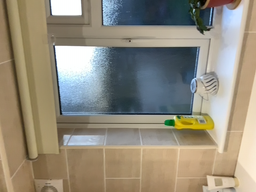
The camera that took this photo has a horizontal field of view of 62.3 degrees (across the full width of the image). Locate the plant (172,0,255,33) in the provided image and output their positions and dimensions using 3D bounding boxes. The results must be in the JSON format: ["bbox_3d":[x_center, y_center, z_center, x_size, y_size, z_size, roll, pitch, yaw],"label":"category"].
[{"bbox_3d":[0.400,-0.470,1.010,0.200,0.310,0.300,-95,6,-67],"label":"plant"}]
